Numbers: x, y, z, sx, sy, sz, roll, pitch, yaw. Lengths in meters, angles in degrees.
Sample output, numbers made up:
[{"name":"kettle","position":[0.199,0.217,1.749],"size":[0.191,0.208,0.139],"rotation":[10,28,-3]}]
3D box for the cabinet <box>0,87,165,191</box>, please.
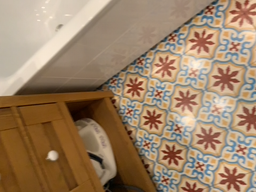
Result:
[{"name":"cabinet","position":[-0.260,0.470,0.900],"size":[0.470,0.790,0.880],"rotation":[-34,78,26]}]
